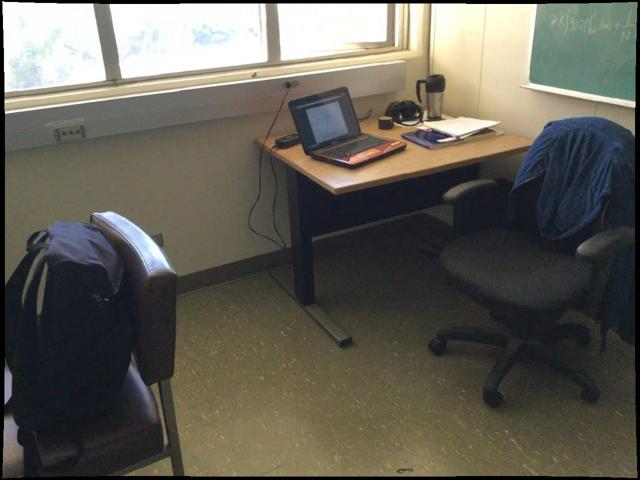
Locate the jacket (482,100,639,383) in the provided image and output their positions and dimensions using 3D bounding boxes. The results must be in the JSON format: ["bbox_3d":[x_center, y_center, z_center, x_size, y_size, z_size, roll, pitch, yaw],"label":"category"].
[{"bbox_3d":[0.878,-0.020,2.000,0.270,0.802,0.540,-16,28,-24],"label":"jacket"}]

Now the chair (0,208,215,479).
[{"bbox_3d":[-0.648,0.421,1.460,0.569,0.762,0.550,-16,28,-24],"label":"chair"}]

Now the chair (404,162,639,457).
[{"bbox_3d":[0.708,0.180,1.980,0.549,0.651,0.650,-16,28,-24],"label":"chair"}]
